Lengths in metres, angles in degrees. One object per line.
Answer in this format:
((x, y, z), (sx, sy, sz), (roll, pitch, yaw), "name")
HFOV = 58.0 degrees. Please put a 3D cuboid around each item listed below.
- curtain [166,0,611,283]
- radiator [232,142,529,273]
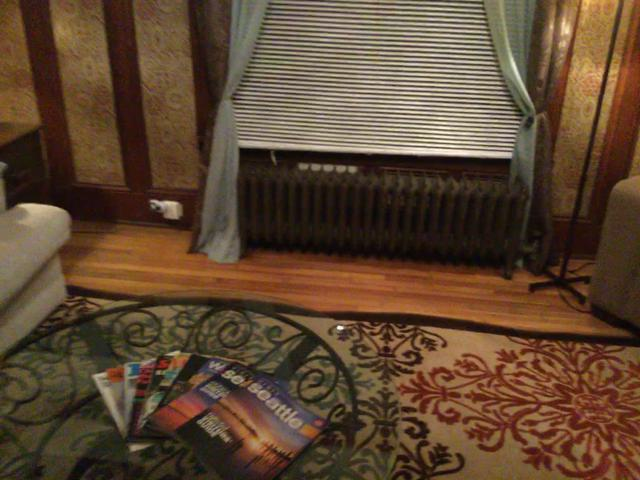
((0.260, -0.880, 2.570), (1.810, 2.110, 0.310), (3, 21, 5), "curtain")
((0.270, -0.170, 2.860), (1.350, 0.530, 0.270), (3, 21, 5), "radiator")
